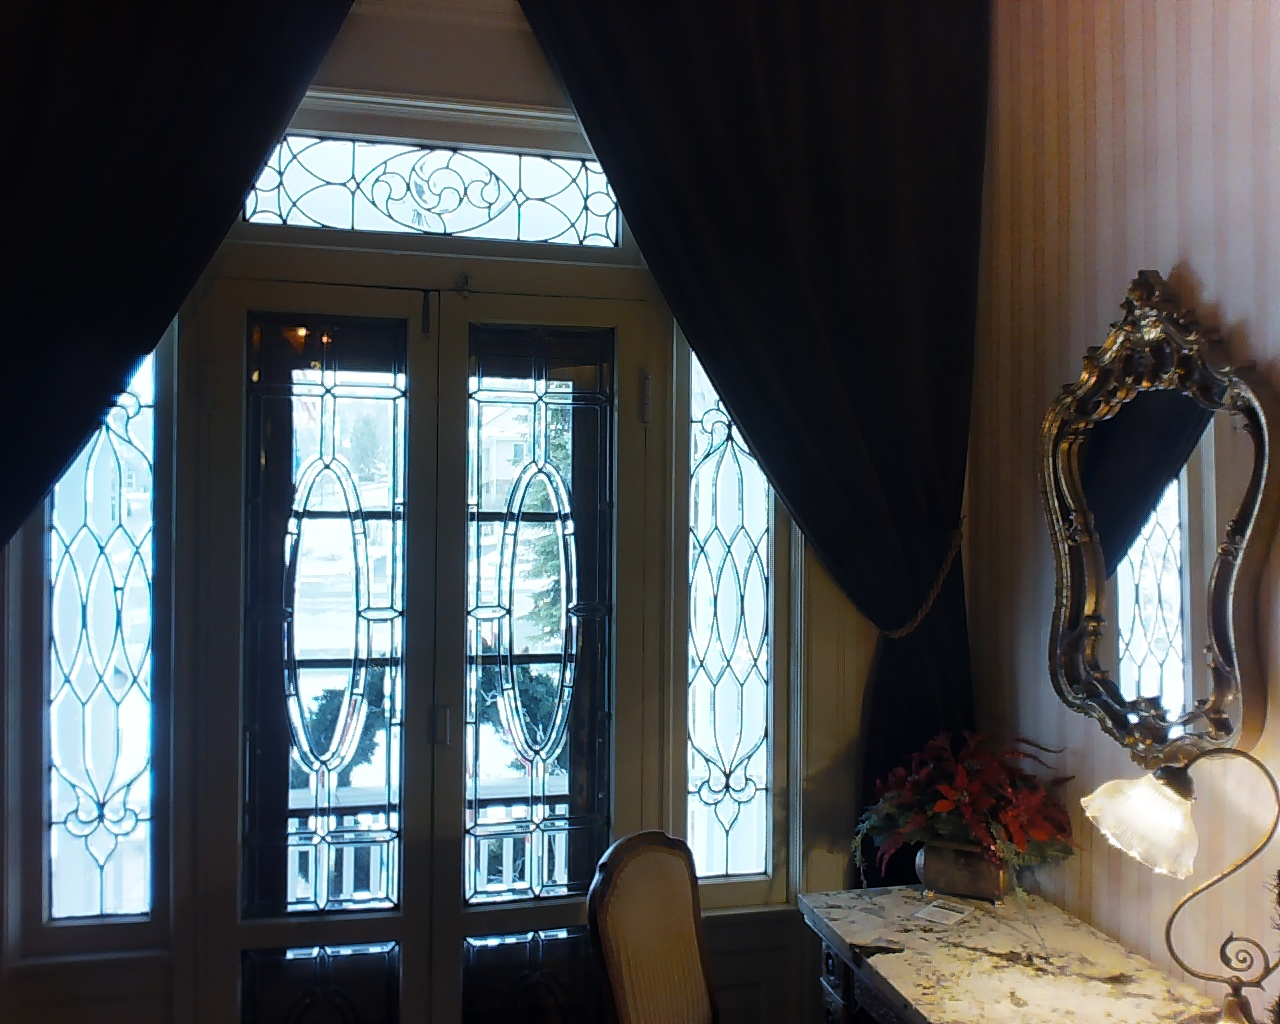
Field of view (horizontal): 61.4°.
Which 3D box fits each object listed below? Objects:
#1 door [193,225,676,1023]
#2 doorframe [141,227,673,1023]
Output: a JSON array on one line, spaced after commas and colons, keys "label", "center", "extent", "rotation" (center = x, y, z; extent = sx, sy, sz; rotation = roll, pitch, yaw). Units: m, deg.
[{"label": "door", "center": [-0.440, 0.450, 2.420], "extent": [1.010, 2.081, 0.150], "rotation": [1, -1, -13]}, {"label": "doorframe", "center": [-0.500, 0.520, 2.440], "extent": [1.120, 2.221, 0.140], "rotation": [1, -1, -13]}]
